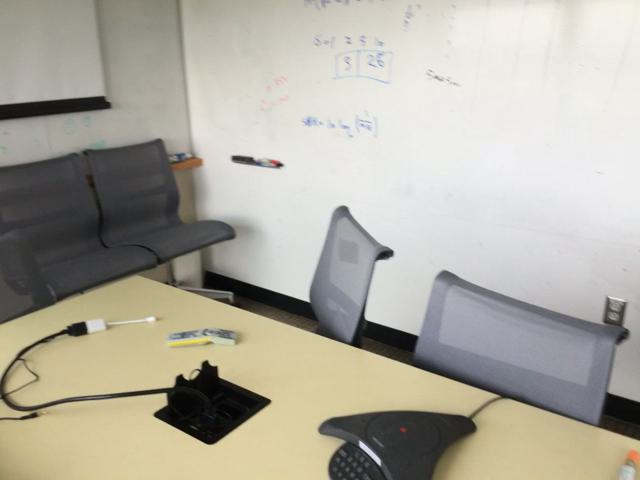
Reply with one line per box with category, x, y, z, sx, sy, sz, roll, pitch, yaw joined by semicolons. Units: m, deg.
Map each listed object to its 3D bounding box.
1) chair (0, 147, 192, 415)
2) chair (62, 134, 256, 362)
chair;-1.070;0.120;2.590;0.610;0.930;0.650;12;23;36
chair;-0.780;-0.010;2.930;0.570;0.930;0.640;12;23;36
